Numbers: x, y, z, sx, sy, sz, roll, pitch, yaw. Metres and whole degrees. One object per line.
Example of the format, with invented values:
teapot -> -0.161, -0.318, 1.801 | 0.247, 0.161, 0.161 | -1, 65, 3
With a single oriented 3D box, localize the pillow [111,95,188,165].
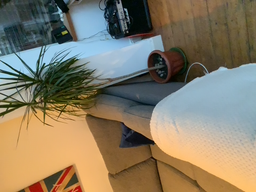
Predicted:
pillow -> 0.140, 0.340, 1.910 | 0.380, 0.300, 0.710 | 62, 154, 12

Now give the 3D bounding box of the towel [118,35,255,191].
towel -> 0.490, 0.140, 0.930 | 0.680, 0.670, 0.700 | 8, 117, 61
